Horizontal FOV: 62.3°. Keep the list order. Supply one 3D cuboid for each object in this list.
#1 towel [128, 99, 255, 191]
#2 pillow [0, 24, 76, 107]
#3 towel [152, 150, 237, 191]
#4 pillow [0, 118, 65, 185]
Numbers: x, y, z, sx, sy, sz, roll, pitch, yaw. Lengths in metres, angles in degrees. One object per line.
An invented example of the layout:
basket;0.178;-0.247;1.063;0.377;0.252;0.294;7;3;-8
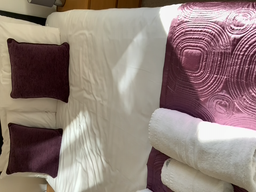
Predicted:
towel;0.190;0.150;0.660;0.410;0.120;0.190;18;106;47
pillow;-0.580;-0.170;1.380;0.150;0.400;0.410;17;86;21
towel;0.200;0.280;0.680;0.240;0.080;0.110;18;106;47
pillow;-0.700;0.390;1.560;0.130;0.350;0.410;21;90;23
